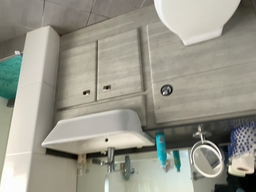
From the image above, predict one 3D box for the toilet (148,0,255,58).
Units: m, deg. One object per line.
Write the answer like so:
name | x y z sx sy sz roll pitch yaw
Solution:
toilet | 0.320 -0.560 1.020 0.410 0.460 0.520 -11 156 17
